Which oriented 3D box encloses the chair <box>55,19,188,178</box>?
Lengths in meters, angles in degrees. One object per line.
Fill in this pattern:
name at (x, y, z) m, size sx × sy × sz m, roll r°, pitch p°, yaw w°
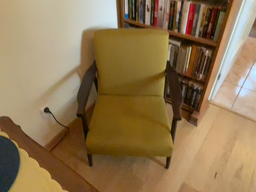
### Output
chair at (0.000, 0.010, 1.460) m, size 0.580 × 0.760 × 0.760 m, roll 2°, pitch 45°, yaw 4°
